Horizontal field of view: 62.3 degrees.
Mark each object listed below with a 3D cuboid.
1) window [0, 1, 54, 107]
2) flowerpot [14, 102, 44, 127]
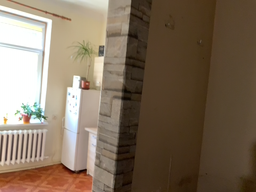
[{"bbox_3d":[-1.990,-0.690,3.770,1.090,1.700,0.270,4,3,-37],"label":"window"},{"bbox_3d":[-1.800,0.330,3.870,0.140,0.330,0.410,7,21,42],"label":"flowerpot"}]
